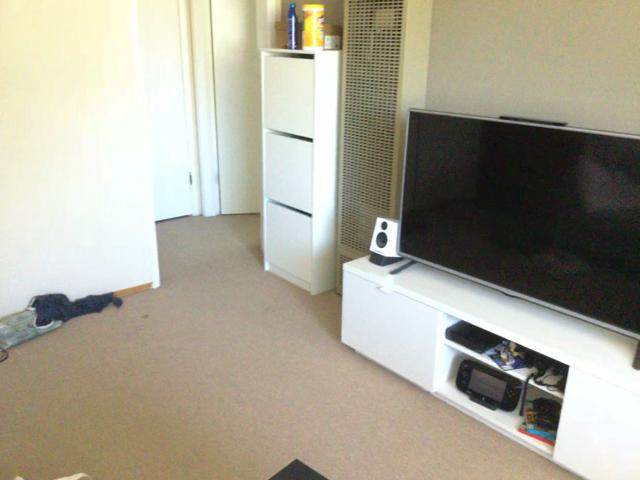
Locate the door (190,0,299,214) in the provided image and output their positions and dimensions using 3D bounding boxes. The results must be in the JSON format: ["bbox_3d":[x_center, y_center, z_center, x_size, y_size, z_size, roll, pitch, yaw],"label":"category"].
[{"bbox_3d":[-0.540,-1.010,4.270,0.650,1.640,0.110,-2,18,5],"label":"door"}]

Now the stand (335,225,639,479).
[{"bbox_3d":[0.760,0.400,2.180,0.520,0.540,1.530,-16,22,-36],"label":"stand"}]

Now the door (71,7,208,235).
[{"bbox_3d":[-1.230,-0.840,4.090,0.730,1.500,0.100,-16,22,-36],"label":"door"}]
